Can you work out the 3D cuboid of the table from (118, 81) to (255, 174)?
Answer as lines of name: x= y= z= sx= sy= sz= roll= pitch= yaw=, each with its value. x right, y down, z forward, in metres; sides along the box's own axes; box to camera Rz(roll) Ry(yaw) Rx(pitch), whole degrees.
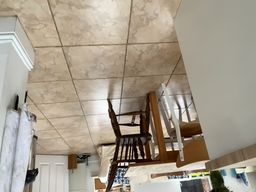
table: x=0.880 y=0.410 z=2.600 sx=1.900 sy=0.760 sz=0.950 roll=-3 pitch=155 yaw=-8
